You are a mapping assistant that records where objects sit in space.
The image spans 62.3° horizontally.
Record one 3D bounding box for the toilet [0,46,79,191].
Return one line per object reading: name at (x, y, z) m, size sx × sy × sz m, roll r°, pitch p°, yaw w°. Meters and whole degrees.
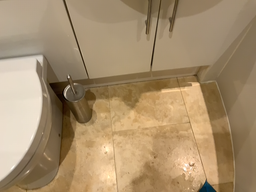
toilet at (-0.440, 0.150, 0.840) m, size 0.380 × 0.460 × 0.450 m, roll -8°, pitch 62°, yaw -4°
